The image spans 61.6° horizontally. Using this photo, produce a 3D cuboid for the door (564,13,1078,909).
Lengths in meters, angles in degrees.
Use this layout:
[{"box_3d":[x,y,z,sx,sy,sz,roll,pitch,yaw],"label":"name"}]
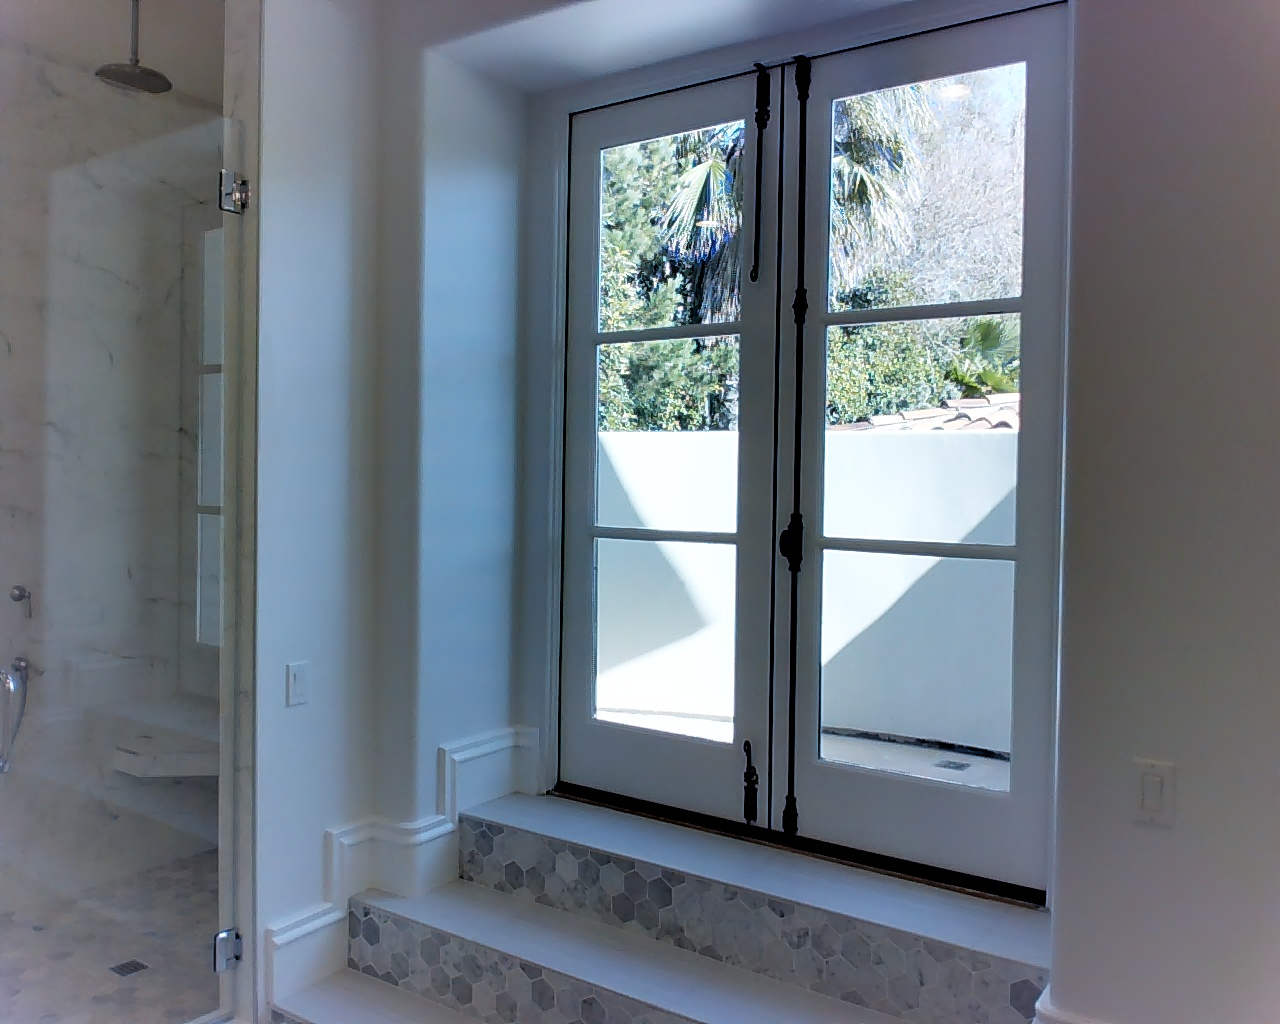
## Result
[{"box_3d":[0.400,-0.130,2.950,1.470,2.091,0.060,1,1,35],"label":"door"}]
